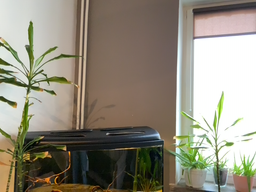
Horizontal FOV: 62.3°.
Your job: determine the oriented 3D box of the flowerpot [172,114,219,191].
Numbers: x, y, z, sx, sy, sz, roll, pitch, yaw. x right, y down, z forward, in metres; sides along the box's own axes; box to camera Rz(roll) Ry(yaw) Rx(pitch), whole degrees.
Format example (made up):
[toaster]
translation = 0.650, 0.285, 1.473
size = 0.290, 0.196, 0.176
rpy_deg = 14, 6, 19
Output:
[flowerpot]
translation = 0.610, 0.520, 1.940
size = 0.370, 0.690, 0.340
rpy_deg = 1, -3, 16
